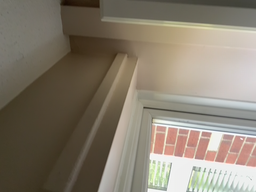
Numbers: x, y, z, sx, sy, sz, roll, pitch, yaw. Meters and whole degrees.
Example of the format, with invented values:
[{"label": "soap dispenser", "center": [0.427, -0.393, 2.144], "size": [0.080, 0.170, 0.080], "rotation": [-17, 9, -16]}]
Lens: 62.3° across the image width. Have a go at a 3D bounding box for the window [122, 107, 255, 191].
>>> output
[{"label": "window", "center": [0.480, 0.250, 0.770], "size": [0.510, 0.950, 0.050], "rotation": [-75, -10, -59]}]
